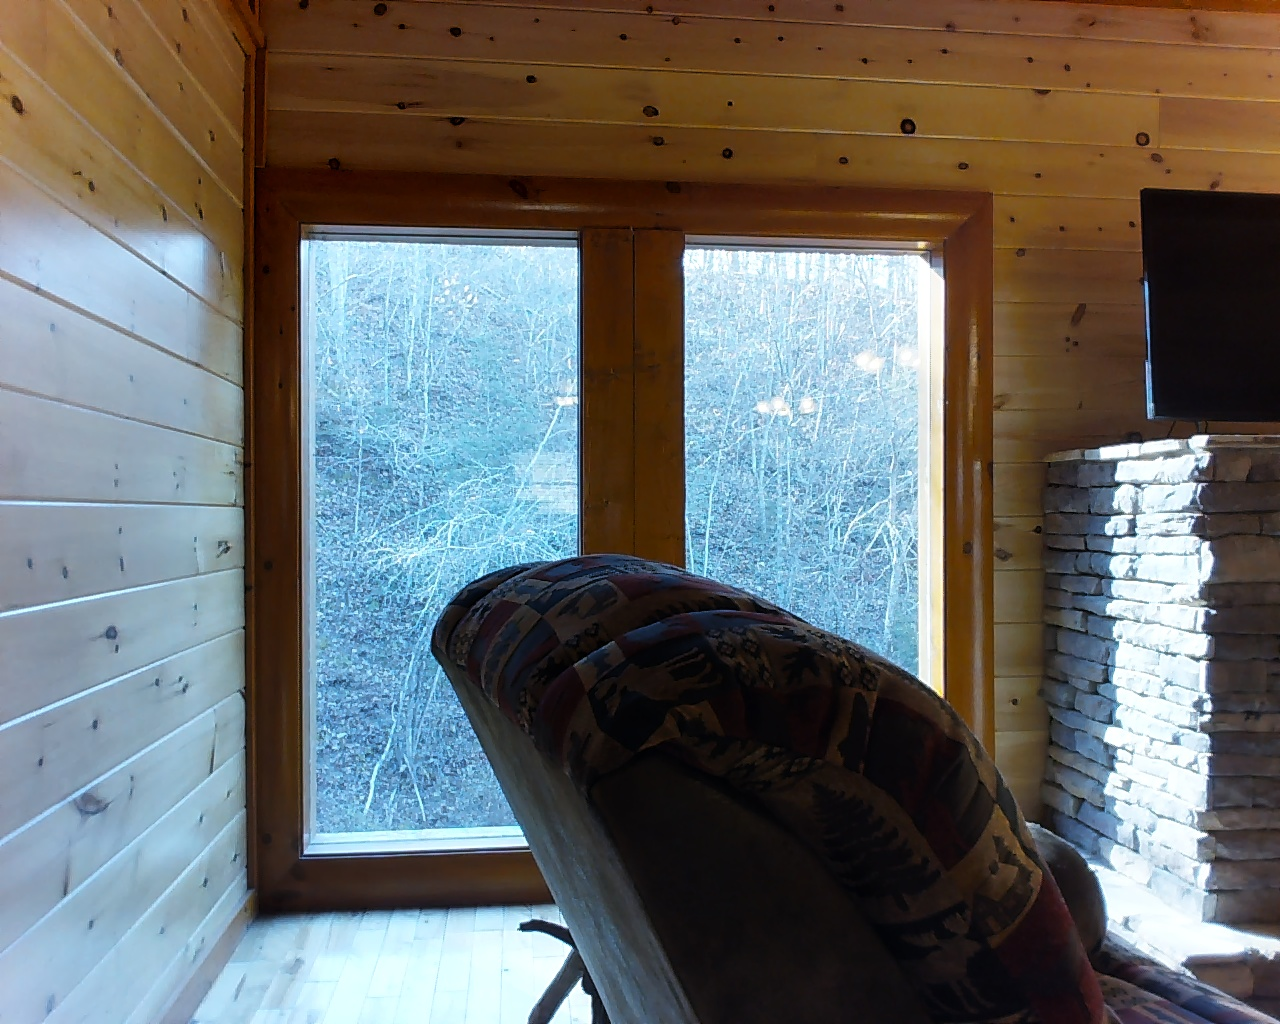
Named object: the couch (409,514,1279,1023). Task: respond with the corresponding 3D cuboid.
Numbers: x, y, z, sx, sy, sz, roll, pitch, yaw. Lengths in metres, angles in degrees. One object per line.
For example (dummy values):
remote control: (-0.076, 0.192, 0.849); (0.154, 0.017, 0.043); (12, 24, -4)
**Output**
couch: (0.430, 0.580, 1.310); (1.250, 1.140, 1.070); (0, 1, -20)
